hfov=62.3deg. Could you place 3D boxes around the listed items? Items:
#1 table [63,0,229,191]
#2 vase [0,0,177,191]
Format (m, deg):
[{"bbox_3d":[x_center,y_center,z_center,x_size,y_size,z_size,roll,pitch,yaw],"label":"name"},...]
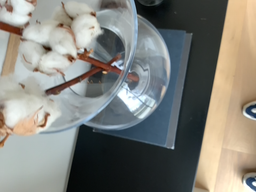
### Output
[{"bbox_3d":[0.160,-0.100,0.870,0.310,0.750,0.890,10,88,17],"label":"table"},{"bbox_3d":[-0.120,0.030,0.140,0.200,0.680,0.380,10,88,17],"label":"vase"}]
